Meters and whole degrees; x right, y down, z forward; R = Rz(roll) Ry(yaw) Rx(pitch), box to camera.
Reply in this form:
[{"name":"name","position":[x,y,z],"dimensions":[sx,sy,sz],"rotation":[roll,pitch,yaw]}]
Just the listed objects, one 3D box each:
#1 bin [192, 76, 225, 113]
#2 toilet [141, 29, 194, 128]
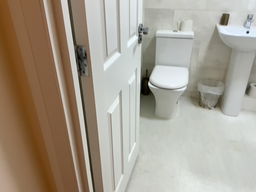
[{"name":"bin","position":[0.870,-0.020,2.330],"dimensions":[0.280,0.280,0.270],"rotation":[7,31,12]},{"name":"toilet","position":[0.400,-0.200,2.160],"dimensions":[0.410,0.790,0.610],"rotation":[7,31,13]}]
